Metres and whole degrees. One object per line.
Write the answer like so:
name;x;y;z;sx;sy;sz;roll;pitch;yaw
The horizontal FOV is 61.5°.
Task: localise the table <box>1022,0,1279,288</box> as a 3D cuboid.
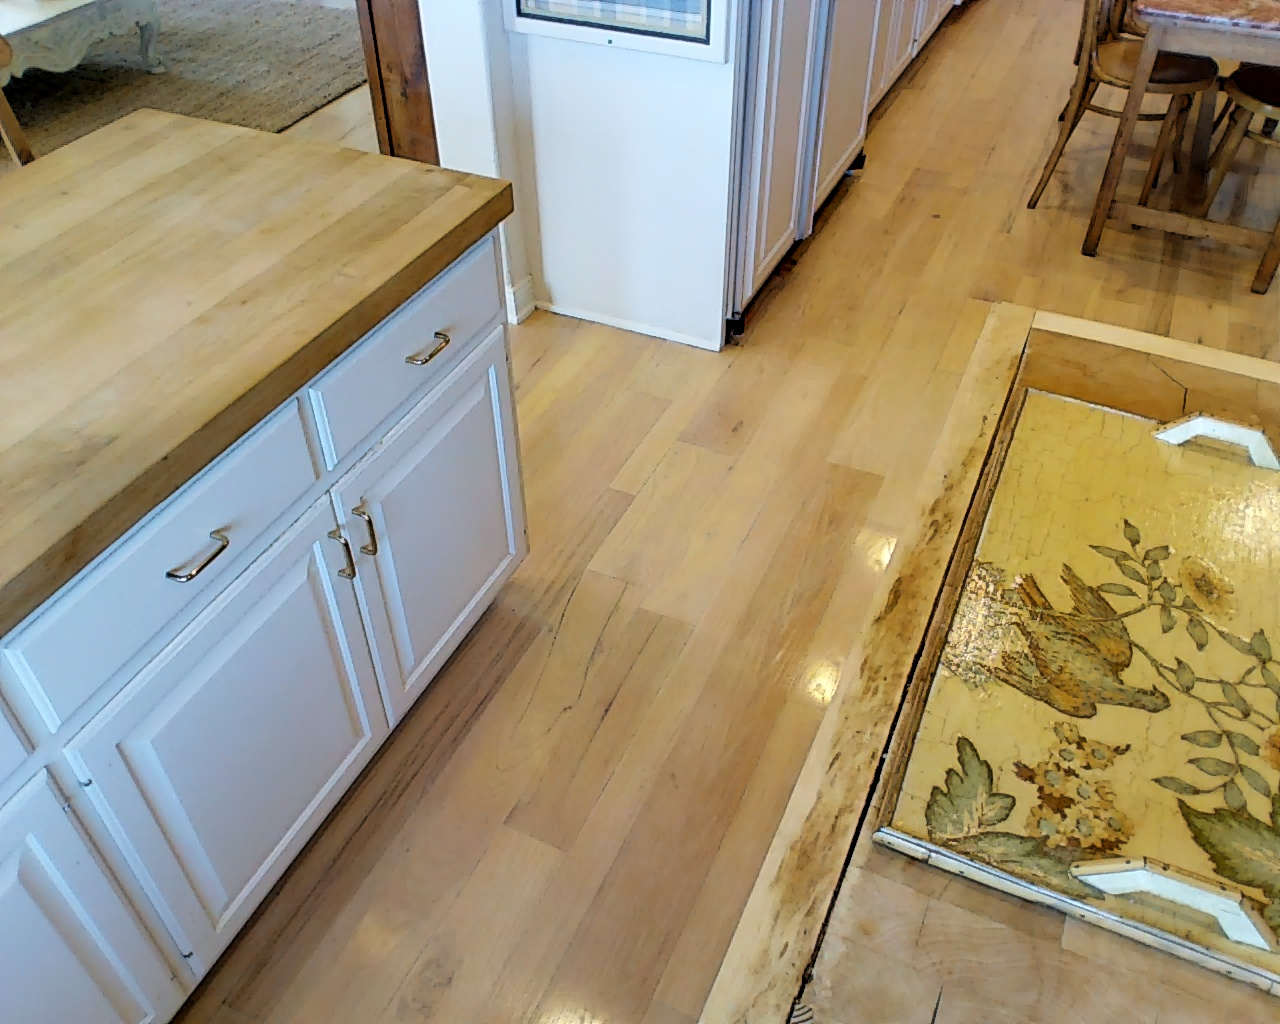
table;1.900;-1.450;3.560;0.830;0.720;1.390;17;44;19
